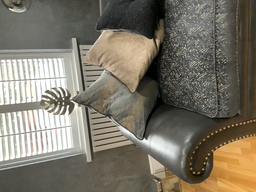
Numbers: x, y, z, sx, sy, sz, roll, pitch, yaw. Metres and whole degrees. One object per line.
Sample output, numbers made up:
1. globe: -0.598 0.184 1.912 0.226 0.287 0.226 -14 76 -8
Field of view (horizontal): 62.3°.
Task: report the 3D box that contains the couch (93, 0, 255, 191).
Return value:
1. couch: 0.320 -0.310 1.600 1.090 0.820 1.500 -168 73 -65
